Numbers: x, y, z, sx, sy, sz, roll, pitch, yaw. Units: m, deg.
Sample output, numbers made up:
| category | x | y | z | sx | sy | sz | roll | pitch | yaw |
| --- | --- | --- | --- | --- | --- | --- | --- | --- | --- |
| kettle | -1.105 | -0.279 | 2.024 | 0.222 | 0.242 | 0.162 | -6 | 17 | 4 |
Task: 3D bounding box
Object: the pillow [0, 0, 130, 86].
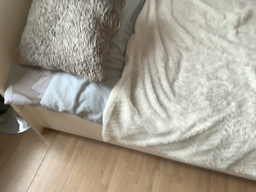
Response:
| category | x | y | z | sx | sy | sz | roll | pitch | yaw |
| --- | --- | --- | --- | --- | --- | --- | --- | --- | --- |
| pillow | -0.250 | -0.300 | 0.900 | 0.440 | 0.220 | 0.400 | 11 | 49 | 5 |
